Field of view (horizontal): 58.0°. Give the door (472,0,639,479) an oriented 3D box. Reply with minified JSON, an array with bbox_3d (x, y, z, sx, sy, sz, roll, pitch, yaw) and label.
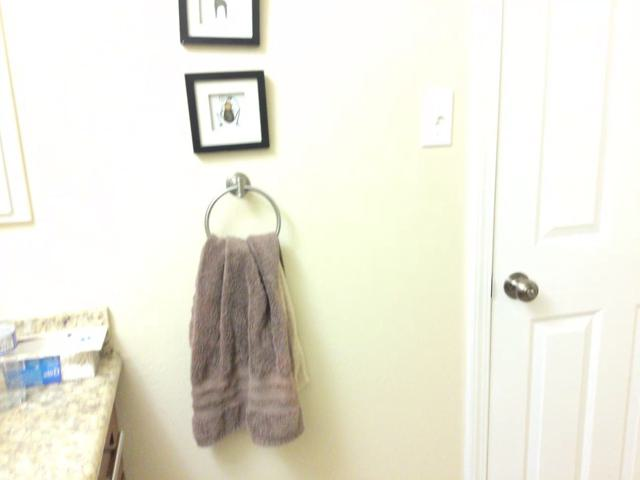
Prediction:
[{"bbox_3d":[0.760,-0.050,1.360,0.780,2.120,0.090,-8,13,-9],"label":"door"}]

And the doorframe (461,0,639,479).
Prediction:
[{"bbox_3d":[0.770,-0.280,1.300,0.910,1.770,0.070,-8,13,-9],"label":"doorframe"}]

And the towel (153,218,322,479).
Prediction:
[{"bbox_3d":[-0.160,0.210,1.170,0.260,0.460,0.160,-8,13,-9],"label":"towel"}]
